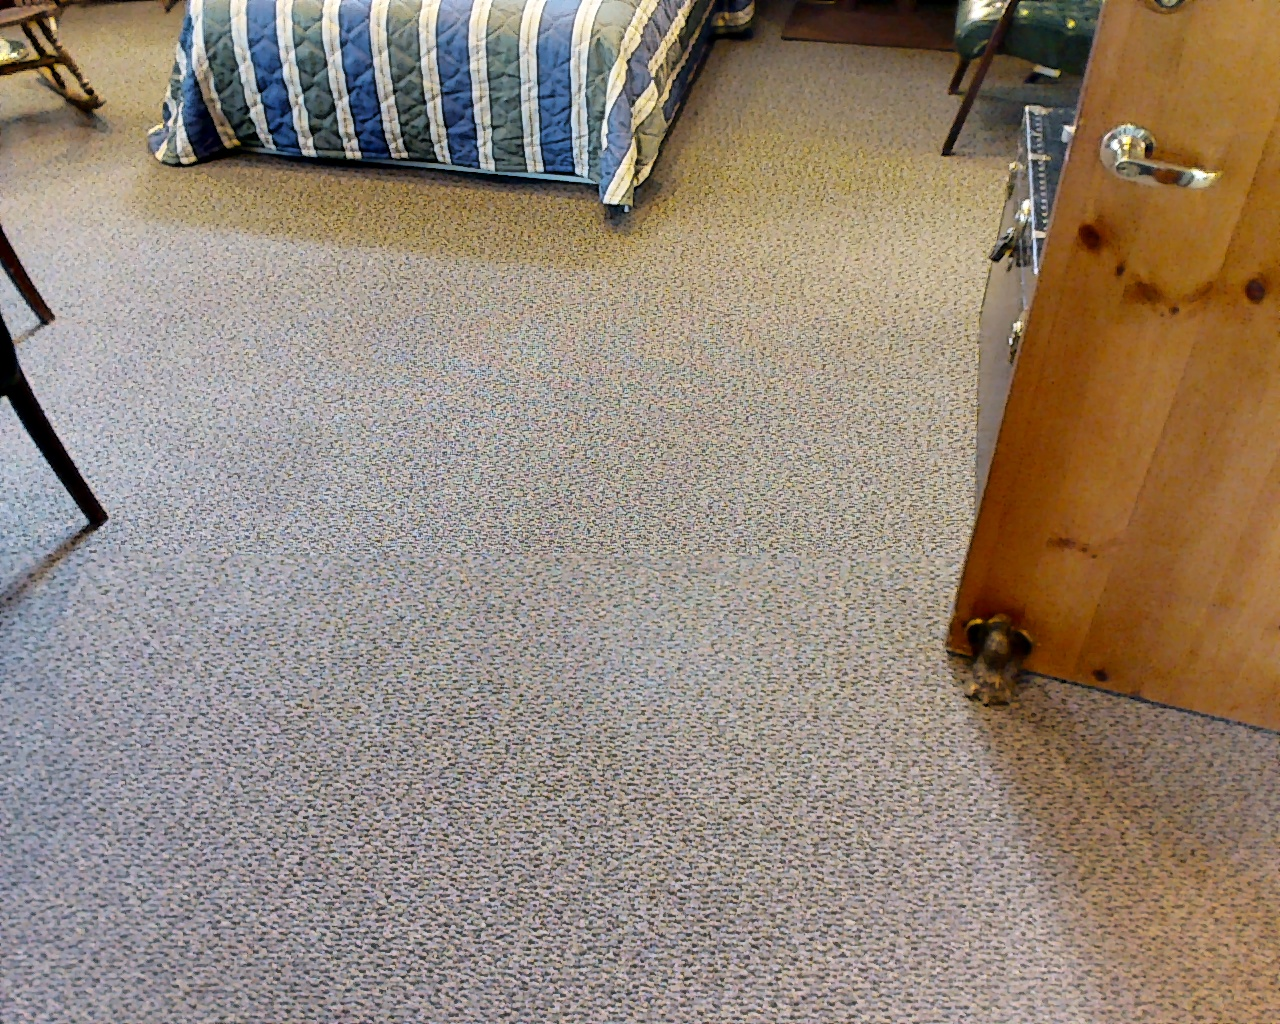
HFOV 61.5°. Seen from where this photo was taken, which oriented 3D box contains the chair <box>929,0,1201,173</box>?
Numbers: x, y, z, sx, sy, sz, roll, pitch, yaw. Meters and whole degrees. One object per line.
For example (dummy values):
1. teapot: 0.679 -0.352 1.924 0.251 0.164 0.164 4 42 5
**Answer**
1. chair: 1.440 -1.740 3.700 0.720 0.810 0.740 8 43 10
